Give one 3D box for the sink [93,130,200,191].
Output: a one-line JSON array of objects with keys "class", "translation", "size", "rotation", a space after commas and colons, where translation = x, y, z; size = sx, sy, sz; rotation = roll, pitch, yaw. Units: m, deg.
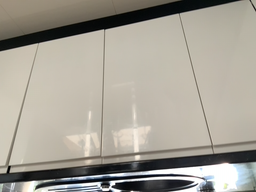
[{"class": "sink", "translation": [0.100, 0.320, 0.970], "size": [0.390, 0.150, 0.400], "rotation": [-8, 148, 10]}]
